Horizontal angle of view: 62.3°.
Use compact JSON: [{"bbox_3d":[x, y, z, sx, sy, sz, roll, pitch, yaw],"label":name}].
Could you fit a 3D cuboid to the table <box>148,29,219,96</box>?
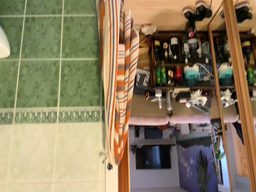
[{"bbox_3d":[0.610,-0.380,2.460,0.690,0.700,0.300,0,166,-2],"label":"table"}]
